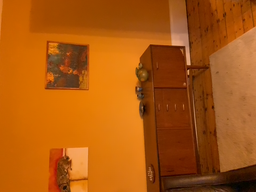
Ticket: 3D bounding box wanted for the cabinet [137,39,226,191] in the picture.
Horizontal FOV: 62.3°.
[{"bbox_3d":[0.620,0.400,2.680,0.530,0.800,2.110,141,127,-74],"label":"cabinet"}]
